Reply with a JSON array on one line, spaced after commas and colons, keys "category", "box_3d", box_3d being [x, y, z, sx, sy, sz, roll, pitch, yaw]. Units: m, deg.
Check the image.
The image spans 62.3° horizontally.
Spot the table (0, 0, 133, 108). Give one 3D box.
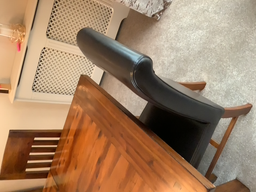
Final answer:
[{"category": "table", "box_3d": [-0.570, -0.490, 2.050, 0.170, 0.960, 1.240, 37, 112, 43]}]

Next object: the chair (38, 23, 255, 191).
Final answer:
[{"category": "chair", "box_3d": [0.180, 0.110, 1.100, 0.470, 1.000, 0.580, 36, 112, 43]}]
